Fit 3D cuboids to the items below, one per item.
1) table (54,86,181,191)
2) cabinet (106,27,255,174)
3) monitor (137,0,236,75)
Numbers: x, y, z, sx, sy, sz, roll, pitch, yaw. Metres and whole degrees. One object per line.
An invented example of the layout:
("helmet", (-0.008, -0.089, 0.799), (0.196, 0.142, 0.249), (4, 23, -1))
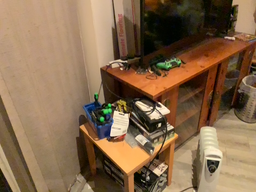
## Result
("table", (-0.090, 0.350, 1.470), (0.470, 0.480, 0.700), (-26, 40, -32))
("cabinet", (0.520, -0.080, 1.890), (1.230, 0.710, 0.620), (-26, 40, -32))
("monitor", (0.480, -0.630, 1.480), (1.100, 0.660, 0.050), (-27, 40, -33))
